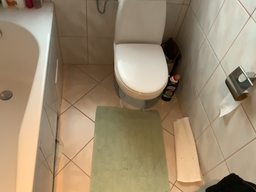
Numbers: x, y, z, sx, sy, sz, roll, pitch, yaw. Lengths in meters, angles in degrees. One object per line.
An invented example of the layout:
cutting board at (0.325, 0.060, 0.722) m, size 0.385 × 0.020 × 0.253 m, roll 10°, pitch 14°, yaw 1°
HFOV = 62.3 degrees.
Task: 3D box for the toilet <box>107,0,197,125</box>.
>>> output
toilet at (0.070, -0.260, 1.470) m, size 0.360 × 0.740 × 0.640 m, roll 1°, pitch 54°, yaw -10°
